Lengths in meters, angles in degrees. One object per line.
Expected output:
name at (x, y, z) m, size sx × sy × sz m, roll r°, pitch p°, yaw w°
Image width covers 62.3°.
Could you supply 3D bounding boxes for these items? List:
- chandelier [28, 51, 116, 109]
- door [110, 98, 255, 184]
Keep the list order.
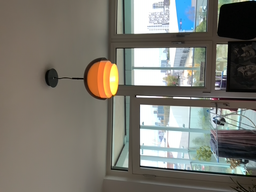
chandelier at (-0.360, -0.130, 1.500) m, size 0.330 × 0.470 × 0.280 m, roll -71°, pitch 161°, yaw -59°
door at (1.050, 0.690, 3.300) m, size 0.080 × 2.700 × 1.190 m, roll -30°, pitch 122°, yaw -78°
